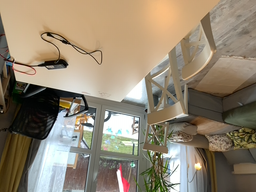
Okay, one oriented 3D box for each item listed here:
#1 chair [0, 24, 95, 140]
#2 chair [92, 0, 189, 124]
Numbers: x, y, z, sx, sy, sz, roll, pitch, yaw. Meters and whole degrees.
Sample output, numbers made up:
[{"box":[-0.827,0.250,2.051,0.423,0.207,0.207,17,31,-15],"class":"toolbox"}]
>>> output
[{"box":[-0.820,-0.100,2.250,0.570,1.000,0.590,-8,154,26],"class":"chair"},{"box":[0.110,-0.320,1.690,0.550,0.930,0.420,18,153,-29],"class":"chair"}]
